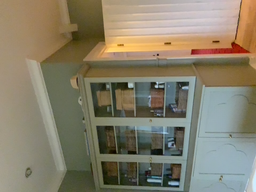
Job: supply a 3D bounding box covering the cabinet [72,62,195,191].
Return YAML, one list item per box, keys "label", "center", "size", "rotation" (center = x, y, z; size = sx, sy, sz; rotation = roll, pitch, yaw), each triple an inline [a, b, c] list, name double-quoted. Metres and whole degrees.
- label: "cabinet"
  center: [0.100, 0.480, 2.780]
  size: [0.360, 1.290, 1.770]
  rotation: [-82, -10, -63]
